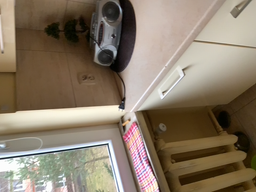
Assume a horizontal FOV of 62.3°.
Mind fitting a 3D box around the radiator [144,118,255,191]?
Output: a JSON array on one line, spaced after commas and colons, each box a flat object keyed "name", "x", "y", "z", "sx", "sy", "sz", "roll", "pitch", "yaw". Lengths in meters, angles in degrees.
[{"name": "radiator", "x": 0.500, "y": 0.430, "z": 1.250, "sx": 0.190, "sy": 0.670, "sz": 0.510, "roll": -55, "pitch": 45, "yaw": 49}]
